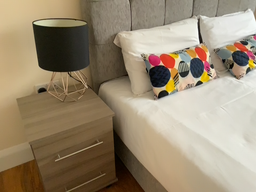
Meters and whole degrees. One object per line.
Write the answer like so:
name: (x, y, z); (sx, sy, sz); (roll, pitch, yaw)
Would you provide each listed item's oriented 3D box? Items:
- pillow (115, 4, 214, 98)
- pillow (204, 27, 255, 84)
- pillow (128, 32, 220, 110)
pillow: (0.240, -0.300, 1.430); (0.700, 0.390, 0.110); (-30, 60, -21)
pillow: (0.880, -0.340, 1.600); (0.590, 0.250, 0.140); (-29, 66, -17)
pillow: (0.290, -0.170, 1.370); (0.590, 0.250, 0.150); (-29, 59, -20)
